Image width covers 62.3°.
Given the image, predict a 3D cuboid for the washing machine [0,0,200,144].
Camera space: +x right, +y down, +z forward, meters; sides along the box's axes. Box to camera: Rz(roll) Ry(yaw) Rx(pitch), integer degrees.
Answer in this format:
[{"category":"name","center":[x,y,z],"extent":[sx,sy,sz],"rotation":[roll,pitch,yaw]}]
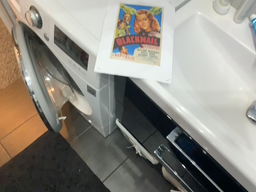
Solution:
[{"category":"washing machine","center":[-0.160,-0.240,1.090],"extent":[0.530,0.850,0.590],"rotation":[-40,74,-20]}]
